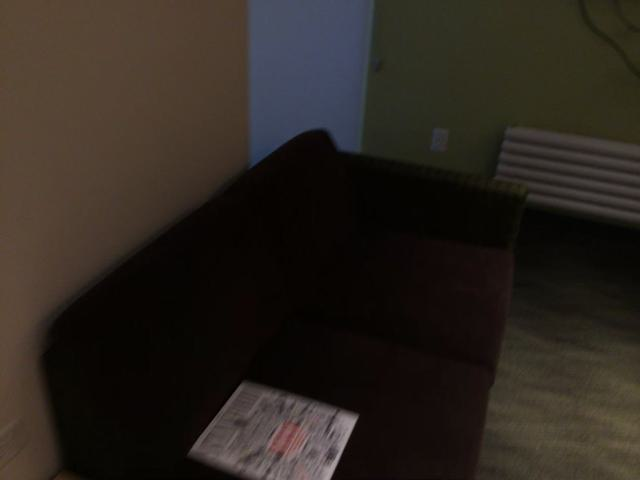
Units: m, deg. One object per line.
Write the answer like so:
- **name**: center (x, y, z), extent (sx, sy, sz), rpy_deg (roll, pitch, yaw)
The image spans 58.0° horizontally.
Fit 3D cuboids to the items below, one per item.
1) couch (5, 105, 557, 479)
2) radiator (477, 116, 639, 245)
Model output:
- **couch**: center (0.080, 0.110, 1.430), extent (0.780, 0.450, 1.240), rpy_deg (14, 32, 19)
- **radiator**: center (1.520, -0.170, 2.420), extent (1.620, 0.430, 0.140), rpy_deg (14, 32, 19)
